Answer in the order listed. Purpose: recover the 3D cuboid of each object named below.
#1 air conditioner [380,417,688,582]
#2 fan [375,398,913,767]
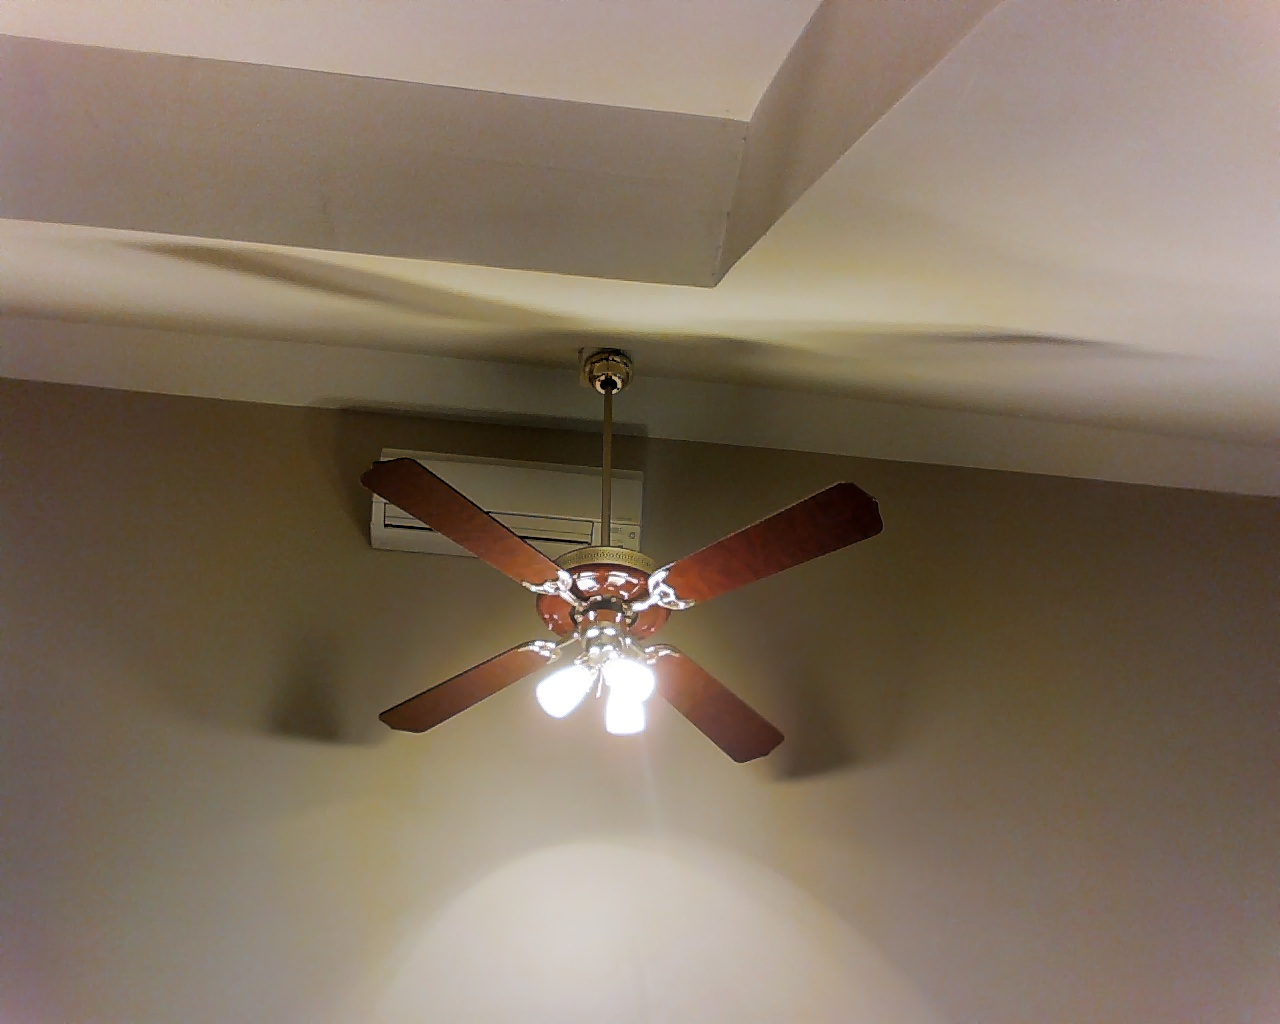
[{"bbox_3d":[-0.310,-0.040,3.290,0.880,0.390,0.220,5,-43,-5],"label":"air conditioner"},{"bbox_3d":[-0.040,0.210,2.310,0.960,0.150,0.970,5,-43,-5],"label":"fan"}]
